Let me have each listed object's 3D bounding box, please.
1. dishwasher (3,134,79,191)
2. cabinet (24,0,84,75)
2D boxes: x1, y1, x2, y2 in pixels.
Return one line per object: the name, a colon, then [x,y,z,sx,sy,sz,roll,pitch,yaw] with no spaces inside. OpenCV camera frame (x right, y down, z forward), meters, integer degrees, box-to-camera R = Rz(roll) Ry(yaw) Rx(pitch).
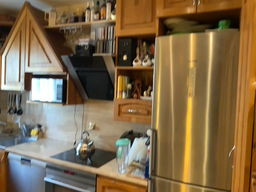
dishwasher: [-1.030,0.970,2.560,0.590,0.850,0.580,4,2,25]
cabinet: [-0.910,-0.690,2.620,0.570,0.820,0.380,4,2,25]
